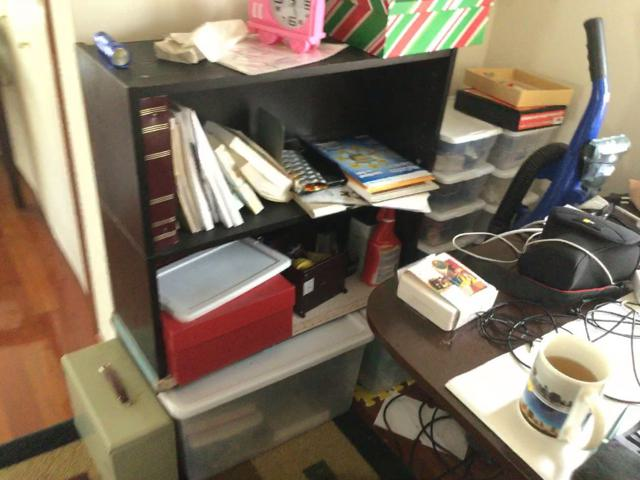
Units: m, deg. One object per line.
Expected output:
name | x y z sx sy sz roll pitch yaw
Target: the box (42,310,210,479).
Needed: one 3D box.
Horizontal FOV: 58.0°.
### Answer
box | -0.490 0.430 1.460 0.250 0.270 0.390 -20 38 -30
